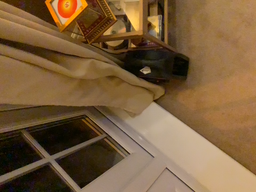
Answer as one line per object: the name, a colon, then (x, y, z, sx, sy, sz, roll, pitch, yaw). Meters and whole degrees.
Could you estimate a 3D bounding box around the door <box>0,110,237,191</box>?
door: (-0.180, 0.380, 0.310, 0.760, 1.960, 0.080, 34, 107, 20)

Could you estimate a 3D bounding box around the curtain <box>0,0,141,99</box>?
curtain: (-0.540, -0.110, 0.120, 0.270, 2.110, 0.170, 34, 107, 20)
